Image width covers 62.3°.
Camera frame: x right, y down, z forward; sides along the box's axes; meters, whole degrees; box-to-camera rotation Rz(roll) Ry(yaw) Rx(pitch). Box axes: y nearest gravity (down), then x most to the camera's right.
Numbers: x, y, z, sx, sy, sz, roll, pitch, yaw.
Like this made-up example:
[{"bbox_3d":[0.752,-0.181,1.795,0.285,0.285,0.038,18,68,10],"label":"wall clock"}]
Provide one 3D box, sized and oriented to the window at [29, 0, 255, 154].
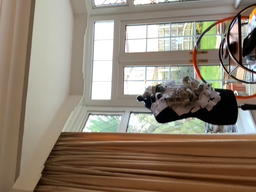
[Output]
[{"bbox_3d":[0.250,-0.690,2.350,0.870,2.060,2.410,43,-131,-75],"label":"window"}]
